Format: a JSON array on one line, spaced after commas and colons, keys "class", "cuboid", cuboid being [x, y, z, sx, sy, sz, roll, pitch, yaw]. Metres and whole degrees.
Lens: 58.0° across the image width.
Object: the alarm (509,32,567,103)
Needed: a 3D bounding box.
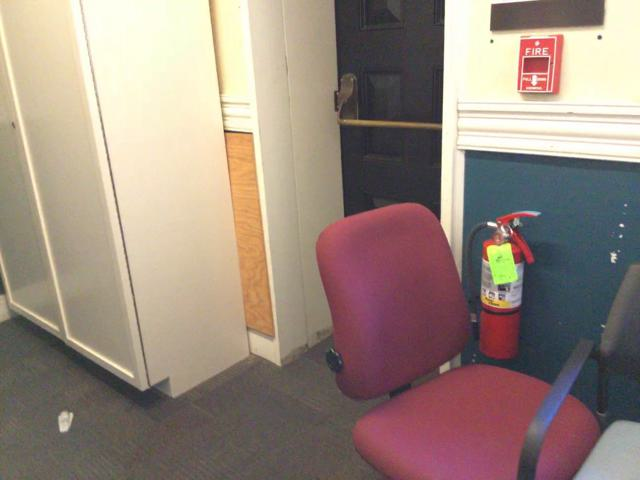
[{"class": "alarm", "cuboid": [0.530, -0.420, 1.410, 0.120, 0.160, 0.030, 13, 24, 41]}]
